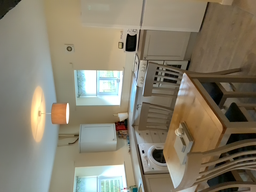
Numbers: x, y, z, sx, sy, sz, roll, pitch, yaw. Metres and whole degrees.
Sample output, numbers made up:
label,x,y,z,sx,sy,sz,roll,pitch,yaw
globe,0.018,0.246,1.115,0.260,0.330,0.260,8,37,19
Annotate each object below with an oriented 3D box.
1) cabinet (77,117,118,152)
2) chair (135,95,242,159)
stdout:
label,x,y,z,sx,sy,sz,roll,pitch,yaw
cabinet,-0.680,0.840,4.710,0.700,0.820,0.320,-103,16,-52
chair,0.680,0.360,2.640,0.610,1.040,0.480,-102,15,-50
